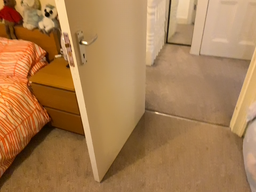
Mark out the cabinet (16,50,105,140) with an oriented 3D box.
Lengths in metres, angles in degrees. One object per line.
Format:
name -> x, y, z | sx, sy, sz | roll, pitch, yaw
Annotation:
cabinet -> -0.540, -0.030, 1.890 | 0.450, 0.540, 0.500 | 11, 39, 17
